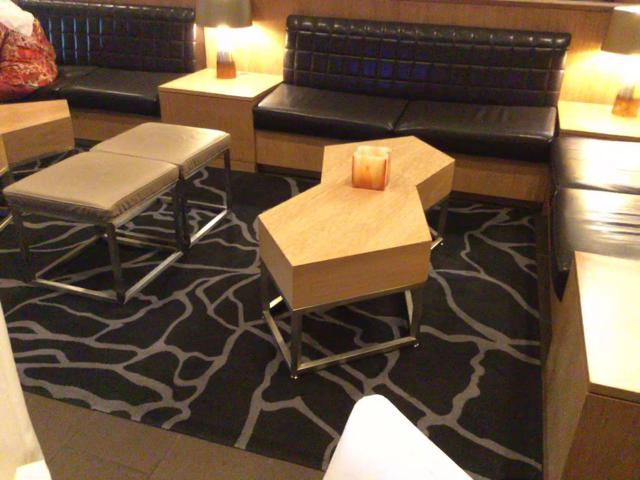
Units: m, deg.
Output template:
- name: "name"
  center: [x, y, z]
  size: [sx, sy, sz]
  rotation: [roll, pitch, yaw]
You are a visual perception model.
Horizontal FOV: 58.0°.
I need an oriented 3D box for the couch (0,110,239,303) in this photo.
- name: "couch"
  center: [-0.910, -0.230, 2.680]
  size: [0.670, 0.470, 1.050]
  rotation: [8, 27, 14]
